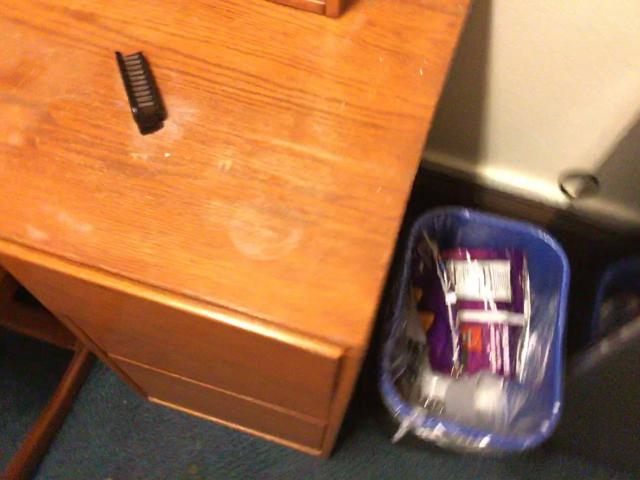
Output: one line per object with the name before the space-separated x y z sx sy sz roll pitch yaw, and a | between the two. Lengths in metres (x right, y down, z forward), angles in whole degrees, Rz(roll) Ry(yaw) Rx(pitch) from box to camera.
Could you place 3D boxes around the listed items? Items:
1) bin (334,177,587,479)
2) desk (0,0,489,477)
bin | 0.230 0.190 1.020 0.290 0.370 0.400 16 62 6
desk | -0.450 -0.160 1.000 1.240 0.780 0.640 16 62 6
